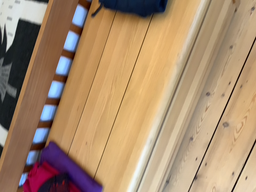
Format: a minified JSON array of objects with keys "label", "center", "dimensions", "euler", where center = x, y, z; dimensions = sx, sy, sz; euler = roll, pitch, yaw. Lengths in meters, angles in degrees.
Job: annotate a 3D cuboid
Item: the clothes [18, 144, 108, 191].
[{"label":"clothes","center":[-0.290,0.420,0.860],"dimensions":[0.350,0.090,0.310],"euler":[23,97,29]}]
